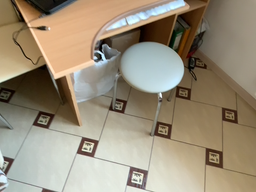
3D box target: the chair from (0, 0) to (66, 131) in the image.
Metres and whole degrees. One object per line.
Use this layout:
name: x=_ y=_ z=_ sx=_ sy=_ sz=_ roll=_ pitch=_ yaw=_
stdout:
chair: x=-0.710 y=-0.310 z=1.120 sx=0.410 sy=0.990 sz=0.490 roll=-27 pitch=64 yaw=-21
